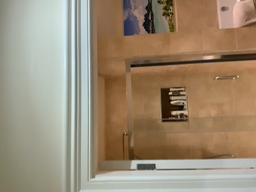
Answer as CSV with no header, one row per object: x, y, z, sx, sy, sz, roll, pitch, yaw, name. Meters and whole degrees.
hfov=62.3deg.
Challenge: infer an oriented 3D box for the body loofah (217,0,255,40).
1.380,-0.990,2.670,0.460,0.310,0.400,53,-146,-83,body loofah
